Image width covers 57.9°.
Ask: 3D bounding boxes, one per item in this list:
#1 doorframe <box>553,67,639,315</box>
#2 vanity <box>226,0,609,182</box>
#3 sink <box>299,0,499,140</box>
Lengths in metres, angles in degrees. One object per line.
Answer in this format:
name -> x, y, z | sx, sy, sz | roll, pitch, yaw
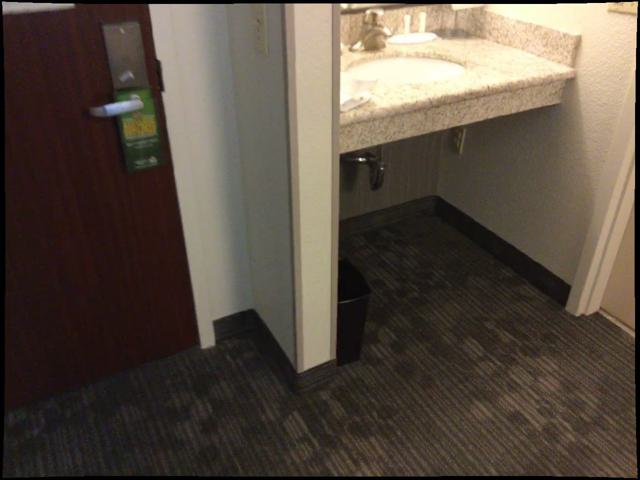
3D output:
doorframe -> 1.009, -0.240, 1.860 | 0.110, 1.151, 0.140 | -17, 41, -26
vanity -> 0.280, -0.631, 1.860 | 0.949, 0.420, 0.680 | -17, 41, -26
sink -> 0.240, -0.591, 1.930 | 0.430, 0.260, 0.480 | -17, 41, -26
